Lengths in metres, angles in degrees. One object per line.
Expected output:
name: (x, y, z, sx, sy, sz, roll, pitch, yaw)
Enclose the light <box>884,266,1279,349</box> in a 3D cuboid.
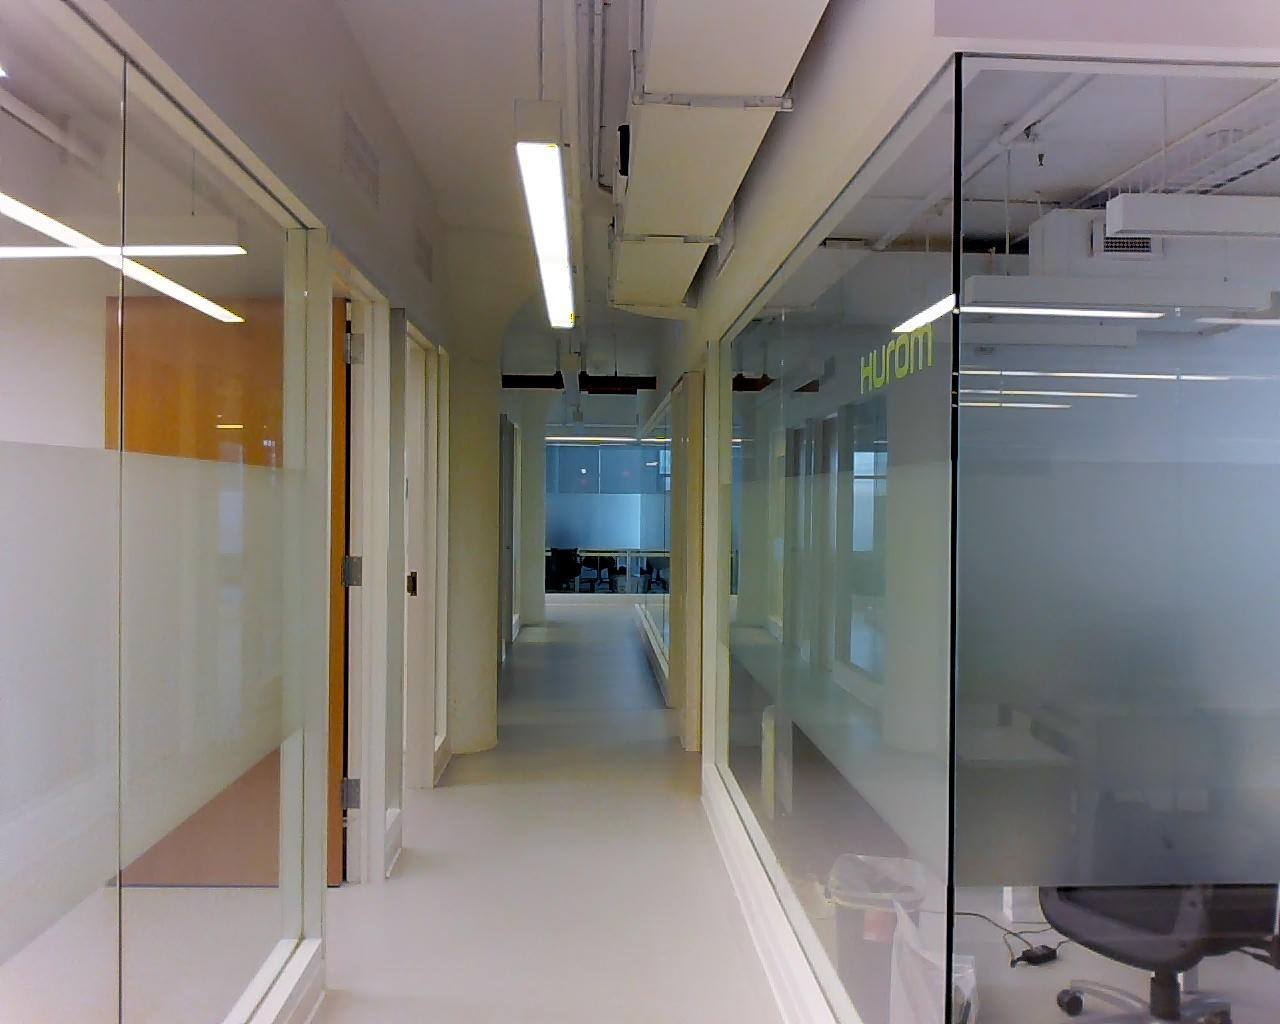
light: (2.259, -0.810, 4.320, 2.529, 0.260, 0.200, 1, 0, -3)
